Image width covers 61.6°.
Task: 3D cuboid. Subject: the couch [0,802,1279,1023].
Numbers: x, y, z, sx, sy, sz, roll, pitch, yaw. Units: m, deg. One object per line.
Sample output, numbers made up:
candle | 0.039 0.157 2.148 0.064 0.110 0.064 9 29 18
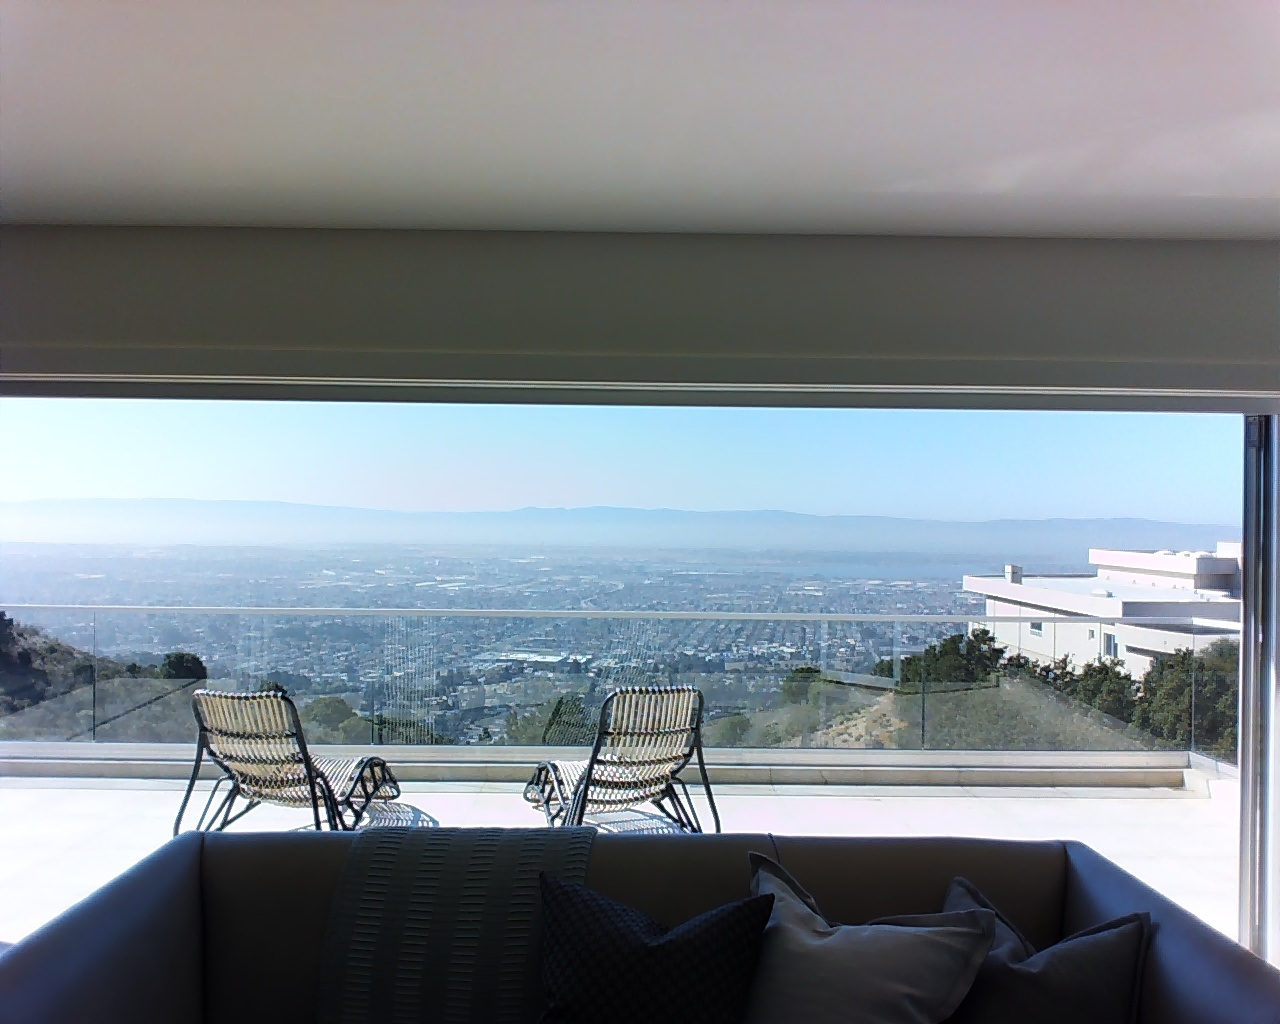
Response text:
couch | -0.010 1.160 2.060 2.250 0.910 1.030 1 -1 -1

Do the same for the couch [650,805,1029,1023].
couch | 0.380 0.930 2.070 0.510 0.490 0.290 29 2 26

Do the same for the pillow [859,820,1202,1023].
pillow | 0.750 0.930 2.090 0.460 0.460 0.290 25 -1 28

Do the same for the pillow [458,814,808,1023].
pillow | -0.010 0.910 2.050 0.490 0.430 0.280 26 -1 17
